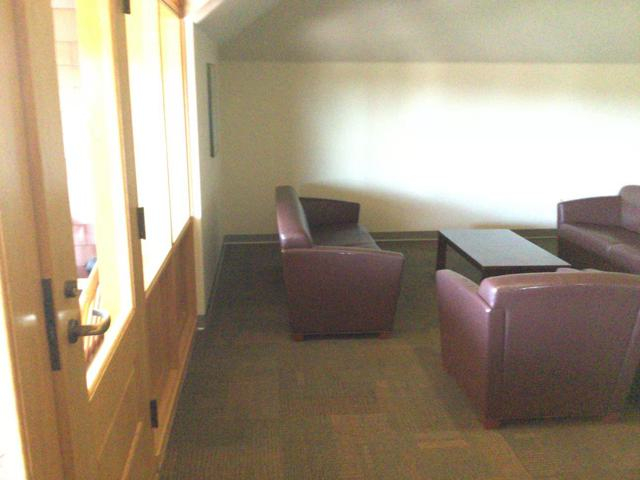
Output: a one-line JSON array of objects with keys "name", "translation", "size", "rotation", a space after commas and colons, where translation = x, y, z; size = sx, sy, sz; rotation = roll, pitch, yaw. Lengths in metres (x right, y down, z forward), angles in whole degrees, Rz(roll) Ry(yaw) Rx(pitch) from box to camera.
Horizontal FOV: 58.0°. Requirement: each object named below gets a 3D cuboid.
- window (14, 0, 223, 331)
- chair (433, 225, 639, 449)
[{"name": "window", "translation": [-0.770, -0.470, 2.670], "size": [0.170, 1.180, 1.720], "rotation": [-11, 14, 0]}, {"name": "chair", "translation": [1.030, 0.410, 2.730], "size": [0.830, 0.740, 0.750], "rotation": [-5, 15, 2]}]
